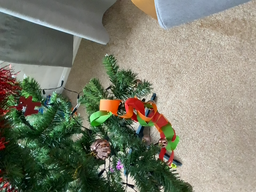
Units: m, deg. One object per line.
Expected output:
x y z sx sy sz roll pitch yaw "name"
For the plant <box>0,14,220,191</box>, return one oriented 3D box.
-0.380 0.210 0.580 0.770 1.690 0.690 33 109 22 "plant"
